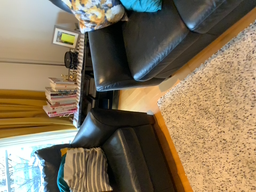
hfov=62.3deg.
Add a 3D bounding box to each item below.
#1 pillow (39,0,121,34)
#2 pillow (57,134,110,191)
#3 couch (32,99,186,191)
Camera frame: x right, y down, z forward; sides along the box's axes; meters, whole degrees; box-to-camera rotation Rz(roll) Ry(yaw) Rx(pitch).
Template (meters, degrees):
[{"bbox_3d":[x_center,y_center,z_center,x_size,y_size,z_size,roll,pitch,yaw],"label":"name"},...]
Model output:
[{"bbox_3d":[-0.340,-0.650,1.510,0.460,0.350,0.180,-6,79,36],"label":"pillow"},{"bbox_3d":[-0.380,0.600,1.820,0.210,0.290,0.470,-27,68,12],"label":"pillow"},{"bbox_3d":[-0.160,0.900,1.800,0.910,0.900,1.450,-44,58,47],"label":"couch"}]
